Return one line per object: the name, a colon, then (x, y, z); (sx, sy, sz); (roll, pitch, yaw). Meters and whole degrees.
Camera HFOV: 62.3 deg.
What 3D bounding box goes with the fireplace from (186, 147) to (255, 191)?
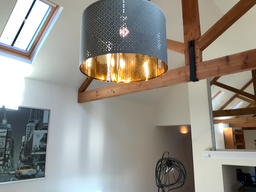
fireplace: (2.280, 1.750, 3.680); (2.170, 1.610, 1.000); (-10, -16, 40)
